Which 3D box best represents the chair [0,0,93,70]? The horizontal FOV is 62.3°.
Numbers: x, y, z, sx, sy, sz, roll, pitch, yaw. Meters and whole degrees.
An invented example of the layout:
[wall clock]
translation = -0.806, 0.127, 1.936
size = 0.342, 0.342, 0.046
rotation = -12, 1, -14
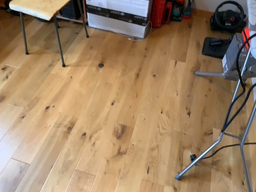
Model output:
[chair]
translation = -0.590, -0.710, 1.630
size = 0.390, 0.780, 0.540
rotation = 19, 52, 10
